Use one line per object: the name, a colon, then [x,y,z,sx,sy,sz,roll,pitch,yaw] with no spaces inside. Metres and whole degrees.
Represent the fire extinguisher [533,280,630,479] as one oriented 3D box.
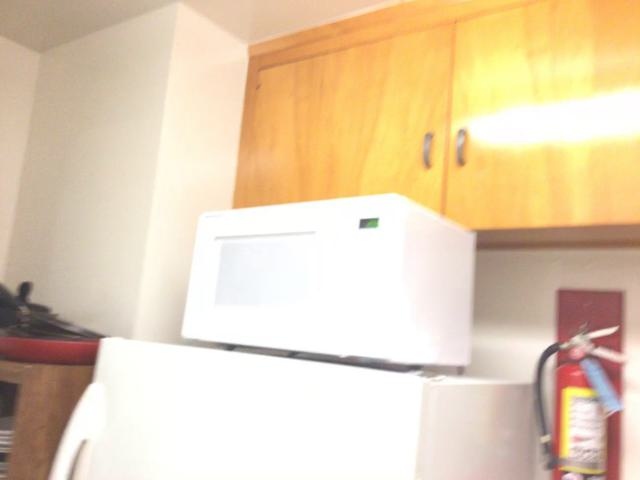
fire extinguisher: [0.600,0.360,1.320,0.170,0.520,0.150,-1,-9,35]
